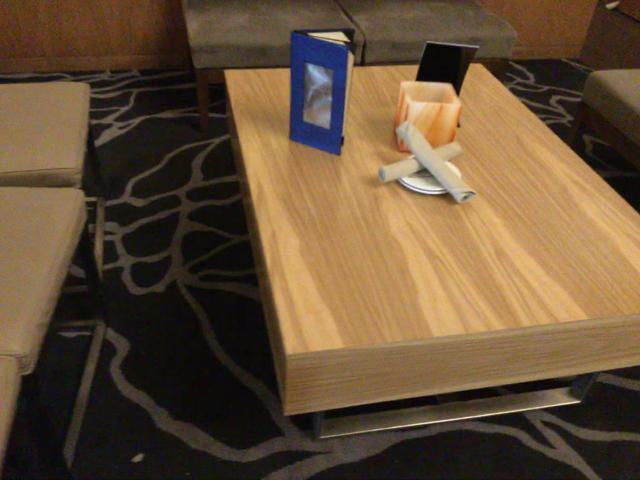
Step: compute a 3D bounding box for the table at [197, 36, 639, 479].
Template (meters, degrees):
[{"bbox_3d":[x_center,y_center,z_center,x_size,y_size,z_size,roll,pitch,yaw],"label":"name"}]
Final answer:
[{"bbox_3d":[0.260,-0.090,1.630,1.060,0.460,1.380,-6,39,-12],"label":"table"}]
